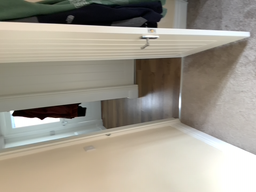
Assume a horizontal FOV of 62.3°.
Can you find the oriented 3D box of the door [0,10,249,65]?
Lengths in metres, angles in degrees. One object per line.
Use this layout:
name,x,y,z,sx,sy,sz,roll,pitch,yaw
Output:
door,-0.100,-0.370,1.540,0.830,1.830,0.090,-4,93,63
